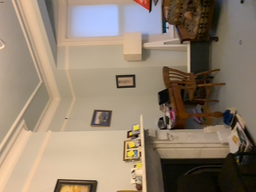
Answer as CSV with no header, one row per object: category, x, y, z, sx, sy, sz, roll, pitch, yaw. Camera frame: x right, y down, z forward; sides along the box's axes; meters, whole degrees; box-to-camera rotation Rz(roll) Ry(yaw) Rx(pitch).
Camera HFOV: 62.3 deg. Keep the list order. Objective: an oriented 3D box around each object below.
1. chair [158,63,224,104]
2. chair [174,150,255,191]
chair,0.960,-0.190,3.400,0.500,0.880,0.390,86,-177,-49
chair,0.920,0.810,1.880,0.440,0.890,0.480,-90,-3,-48
